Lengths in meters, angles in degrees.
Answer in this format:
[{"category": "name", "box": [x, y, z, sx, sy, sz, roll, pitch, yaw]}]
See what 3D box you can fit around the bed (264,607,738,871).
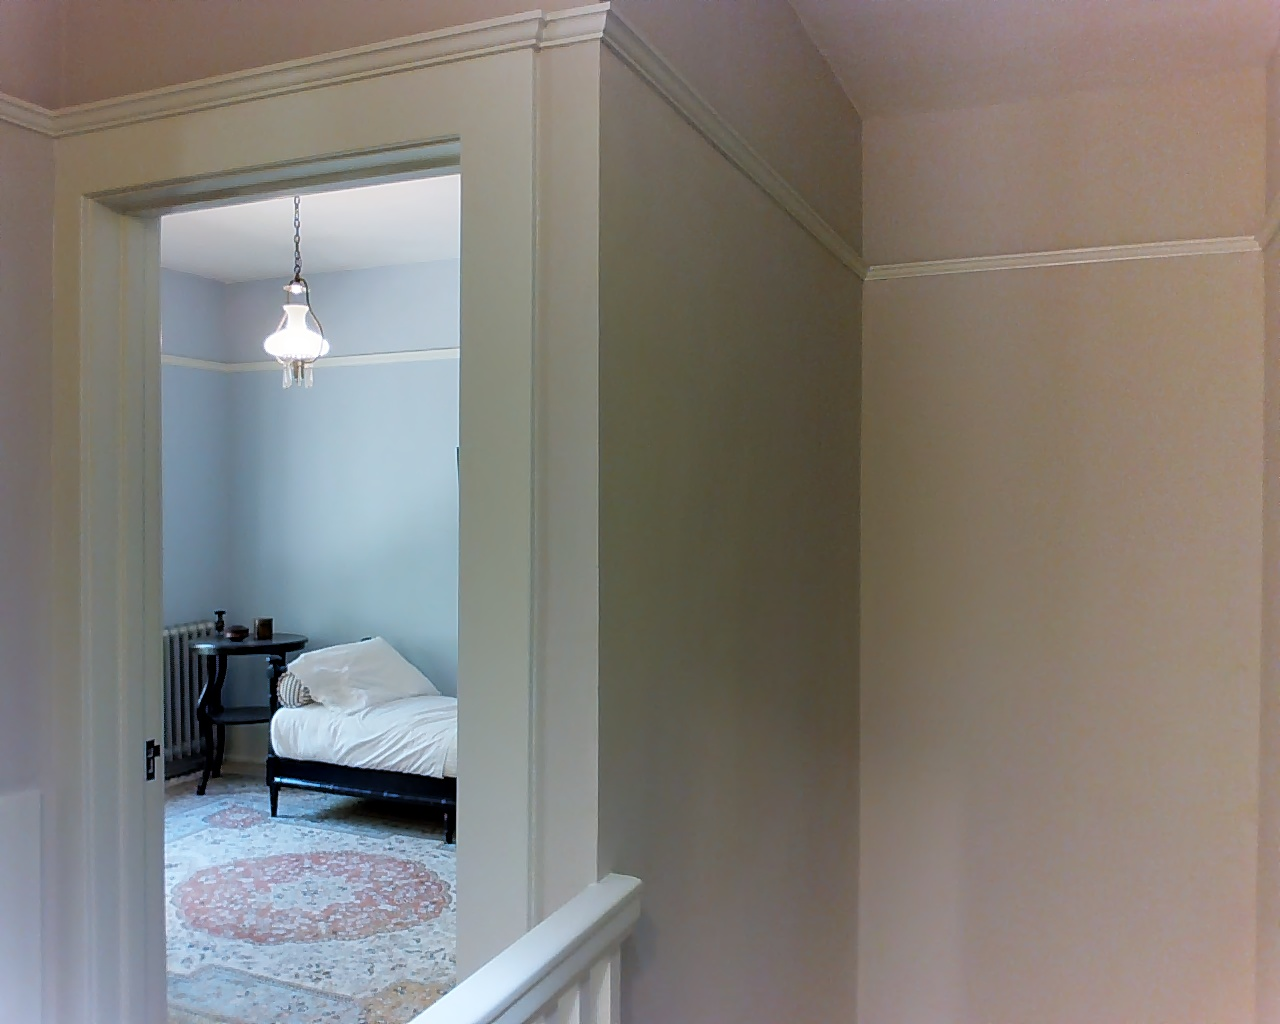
[{"category": "bed", "box": [-0.650, 0.970, 5.070, 2.020, 0.860, 0.920, 1, 1, 23]}]
